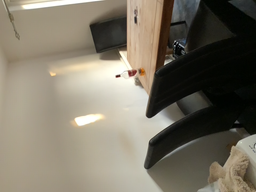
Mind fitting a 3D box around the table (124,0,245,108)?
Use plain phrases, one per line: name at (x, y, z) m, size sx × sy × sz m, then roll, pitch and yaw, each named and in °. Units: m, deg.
table at (0.450, -0.660, 2.220) m, size 1.190 × 0.760 × 0.830 m, roll 91°, pitch 160°, yaw -45°
